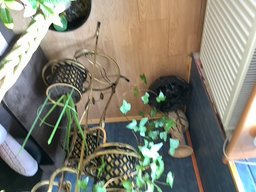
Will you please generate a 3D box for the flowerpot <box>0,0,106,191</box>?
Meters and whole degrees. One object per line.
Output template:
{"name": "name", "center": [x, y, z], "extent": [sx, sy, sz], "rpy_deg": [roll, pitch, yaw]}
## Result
{"name": "flowerpot", "center": [-0.350, -0.260, 0.730], "extent": [0.380, 1.150, 0.410], "rpy_deg": [26, 130, -27]}
